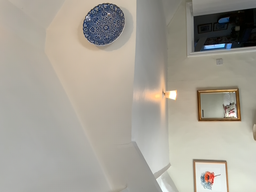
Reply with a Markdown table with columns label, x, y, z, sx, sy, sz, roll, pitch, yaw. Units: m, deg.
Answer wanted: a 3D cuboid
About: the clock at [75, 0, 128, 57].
| label | x | y | z | sx | sy | sz | roll | pitch | yaw |
| --- | --- | --- | --- | --- | --- | --- | --- | --- | --- |
| clock | -0.190 | -0.490 | 1.540 | 0.070 | 0.370 | 0.370 | 32 | -122 | -69 |
